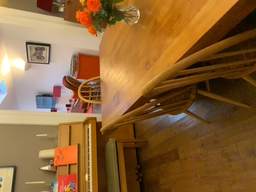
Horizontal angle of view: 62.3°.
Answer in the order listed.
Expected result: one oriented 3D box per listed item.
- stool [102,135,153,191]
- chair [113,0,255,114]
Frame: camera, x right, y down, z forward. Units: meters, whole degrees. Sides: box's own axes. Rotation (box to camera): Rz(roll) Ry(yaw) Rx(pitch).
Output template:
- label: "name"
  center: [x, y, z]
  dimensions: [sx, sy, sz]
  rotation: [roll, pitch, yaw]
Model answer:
- label: "stool"
  center: [-0.020, 0.990, 2.670]
  dimensions: [0.370, 0.480, 0.920]
  rotation: [132, 137, -57]
- label: "chair"
  center: [0.470, -0.270, 0.990]
  dimensions: [0.510, 0.930, 0.550]
  rotation: [131, 138, -57]
